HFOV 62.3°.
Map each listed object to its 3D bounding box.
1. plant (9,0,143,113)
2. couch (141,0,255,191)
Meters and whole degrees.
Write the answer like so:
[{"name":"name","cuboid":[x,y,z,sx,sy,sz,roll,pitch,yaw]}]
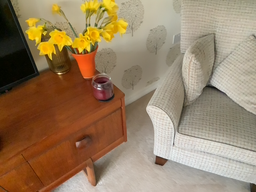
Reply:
[{"name":"plant","cuboid":[-0.220,-0.250,1.020,0.440,0.370,0.360,-29,50,-26]},{"name":"couch","cuboid":[0.640,-0.040,1.400,0.850,0.890,0.900,14,45,15]}]
